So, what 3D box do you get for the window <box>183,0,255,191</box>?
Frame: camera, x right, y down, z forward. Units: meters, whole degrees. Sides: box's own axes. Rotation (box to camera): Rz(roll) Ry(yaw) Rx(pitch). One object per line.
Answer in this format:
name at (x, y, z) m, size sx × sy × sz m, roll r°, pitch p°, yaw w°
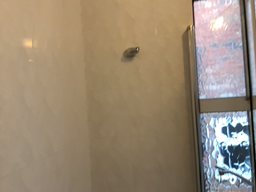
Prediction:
window at (0.730, 0.100, 1.220) m, size 0.710 × 1.470 × 0.080 m, roll -4°, pitch -1°, yaw 14°
